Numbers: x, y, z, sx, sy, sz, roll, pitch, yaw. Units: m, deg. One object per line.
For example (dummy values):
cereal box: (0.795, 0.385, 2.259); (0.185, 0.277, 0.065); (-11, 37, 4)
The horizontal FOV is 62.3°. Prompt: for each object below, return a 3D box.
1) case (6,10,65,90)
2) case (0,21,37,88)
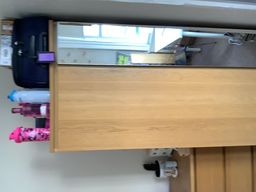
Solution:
case: (-0.640, -0.280, 1.570); (0.640, 0.220, 0.440); (175, 96, -83)
case: (-0.840, -0.270, 1.580); (0.530, 0.150, 0.400); (-179, 90, -83)
